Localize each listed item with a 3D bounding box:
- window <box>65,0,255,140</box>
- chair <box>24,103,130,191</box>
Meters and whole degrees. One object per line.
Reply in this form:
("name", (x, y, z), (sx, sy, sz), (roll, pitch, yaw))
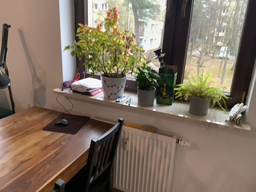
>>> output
("window", (0.340, -0.700, 1.660), (1.730, 1.750, 0.390), (11, 20, 21))
("chair", (-0.330, 0.560, 1.530), (0.490, 0.840, 0.480), (12, 20, 23))
